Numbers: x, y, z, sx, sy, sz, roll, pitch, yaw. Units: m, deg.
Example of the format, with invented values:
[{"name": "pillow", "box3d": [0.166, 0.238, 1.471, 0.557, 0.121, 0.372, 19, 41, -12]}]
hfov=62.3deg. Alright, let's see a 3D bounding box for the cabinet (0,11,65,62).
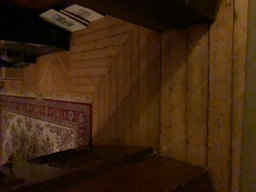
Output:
[{"name": "cabinet", "box3d": [-1.480, -0.660, 2.460, 0.910, 1.120, 0.390, 5, 95, 43]}]
